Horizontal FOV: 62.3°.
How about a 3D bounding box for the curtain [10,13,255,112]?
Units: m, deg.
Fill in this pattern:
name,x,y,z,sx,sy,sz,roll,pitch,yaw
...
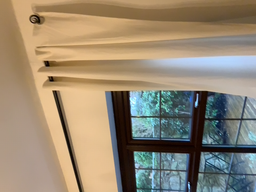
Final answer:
name,x,y,z,sx,sy,sz,roll,pitch,yaw
curtain,0.570,-0.190,1.270,0.250,2.420,0.520,-77,-15,-60
